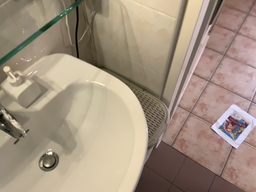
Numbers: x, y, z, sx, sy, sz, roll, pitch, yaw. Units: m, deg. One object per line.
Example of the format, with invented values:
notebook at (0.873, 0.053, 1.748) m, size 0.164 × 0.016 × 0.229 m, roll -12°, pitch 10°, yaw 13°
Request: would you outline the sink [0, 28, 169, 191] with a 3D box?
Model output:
sink at (-0.250, 0.180, 0.640) m, size 0.440 × 0.300 × 0.660 m, roll 29°, pitch 61°, yaw 16°
